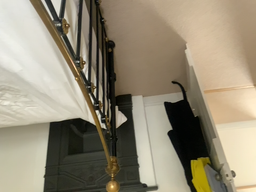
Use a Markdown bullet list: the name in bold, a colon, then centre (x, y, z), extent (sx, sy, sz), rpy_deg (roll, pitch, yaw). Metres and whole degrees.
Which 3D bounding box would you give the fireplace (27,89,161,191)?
- **fireplace**: centre (-0.350, 0.500, 2.240), extent (1.220, 1.020, 0.260), rpy_deg (-8, 150, 2)

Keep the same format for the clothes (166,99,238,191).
- **clothes**: centre (0.560, 0.690, 1.580), extent (0.320, 1.180, 0.550), rpy_deg (-10, 150, 7)
